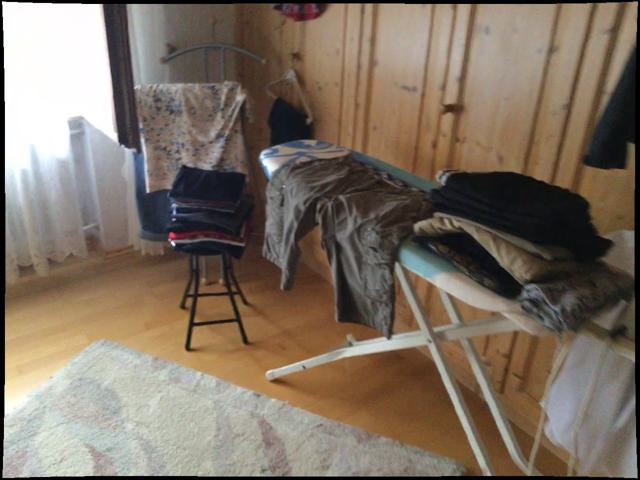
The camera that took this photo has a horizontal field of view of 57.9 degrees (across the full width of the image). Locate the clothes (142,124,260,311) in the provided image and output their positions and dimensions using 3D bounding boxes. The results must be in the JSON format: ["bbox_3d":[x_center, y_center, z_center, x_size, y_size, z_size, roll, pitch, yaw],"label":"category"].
[{"bbox_3d":[-0.430,-0.090,2.240,0.320,0.610,0.370,2,30,2],"label":"clothes"}]

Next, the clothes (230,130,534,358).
[{"bbox_3d":[0.160,-0.050,1.760,0.600,0.280,0.660,-20,36,-31],"label":"clothes"}]

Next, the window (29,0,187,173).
[{"bbox_3d":[-0.829,-1.011,2.030,0.260,1.321,0.810,-20,36,-31],"label":"window"}]

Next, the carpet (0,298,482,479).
[{"bbox_3d":[-0.380,0.651,1.760,1.559,0.140,0.830,13,33,20],"label":"carpet"}]

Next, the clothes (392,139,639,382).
[{"bbox_3d":[0.490,0.000,1.300,0.390,0.240,0.510,-20,36,-31],"label":"clothes"}]

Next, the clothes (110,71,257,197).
[{"bbox_3d":[-0.549,-0.450,2.450,0.539,0.460,0.230,-3,31,-6],"label":"clothes"}]
